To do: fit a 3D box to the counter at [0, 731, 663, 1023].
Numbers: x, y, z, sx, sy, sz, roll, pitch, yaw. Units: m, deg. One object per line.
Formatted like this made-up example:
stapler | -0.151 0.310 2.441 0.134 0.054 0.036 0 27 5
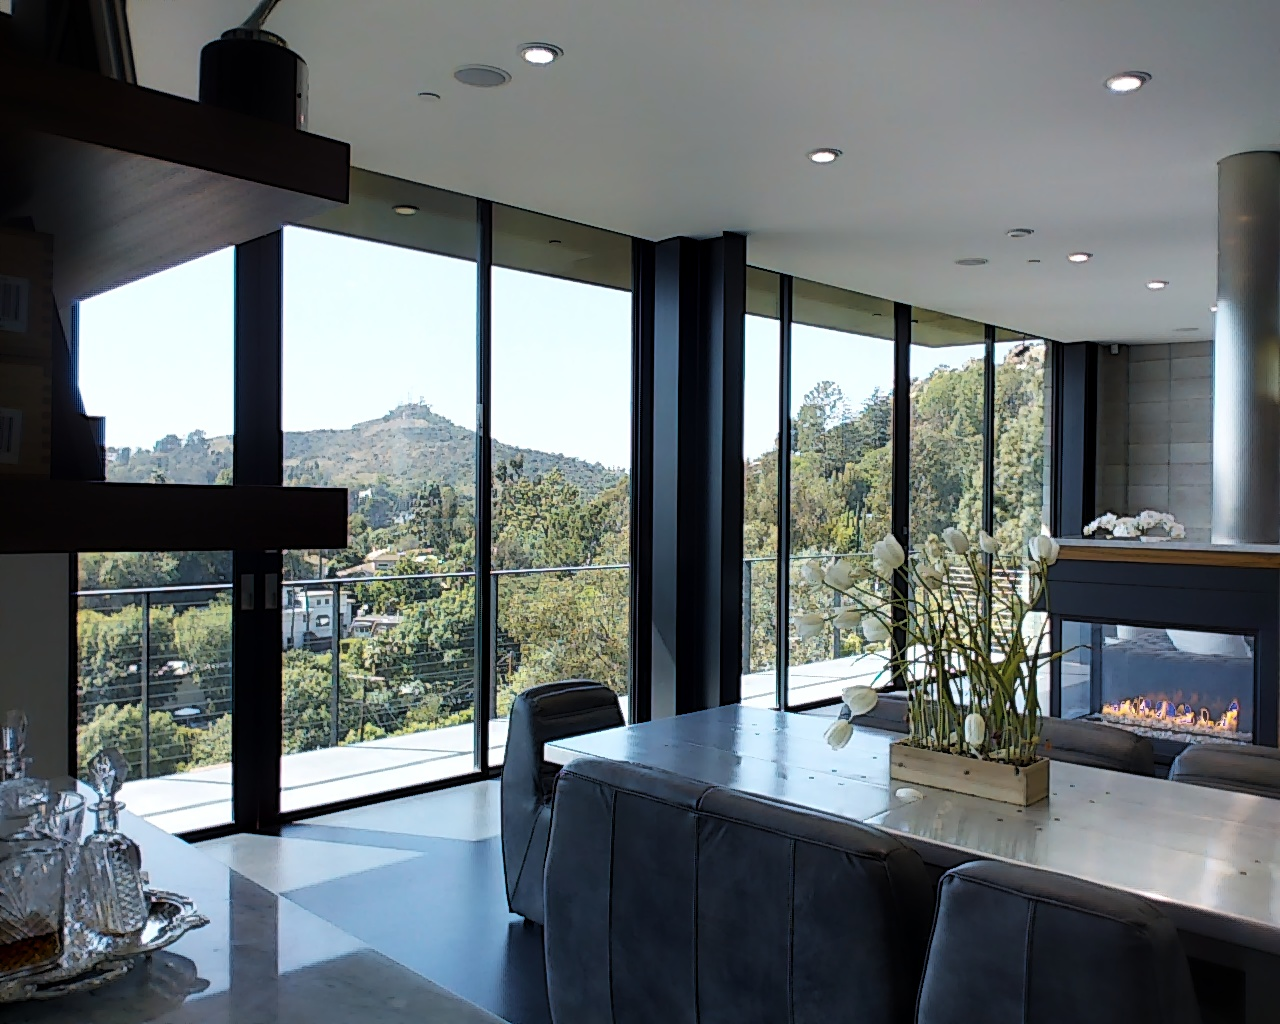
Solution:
counter | -0.880 0.590 1.620 1.880 0.120 0.650 2 1 43
